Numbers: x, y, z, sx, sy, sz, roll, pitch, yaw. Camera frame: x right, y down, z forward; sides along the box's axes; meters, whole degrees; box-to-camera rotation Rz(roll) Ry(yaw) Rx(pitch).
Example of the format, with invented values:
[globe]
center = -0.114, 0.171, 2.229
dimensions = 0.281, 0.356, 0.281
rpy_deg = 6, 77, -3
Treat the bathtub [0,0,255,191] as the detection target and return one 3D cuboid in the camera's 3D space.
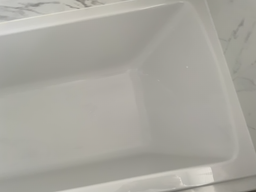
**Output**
[bathtub]
center = -0.460, 0.150, 0.940
dimensions = 1.620, 0.590, 0.710
rpy_deg = -9, 75, -1
